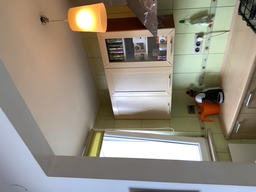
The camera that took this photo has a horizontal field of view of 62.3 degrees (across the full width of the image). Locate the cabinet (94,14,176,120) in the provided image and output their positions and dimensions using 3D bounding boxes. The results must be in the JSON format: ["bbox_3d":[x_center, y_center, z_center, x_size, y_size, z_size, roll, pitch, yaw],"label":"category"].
[{"bbox_3d":[0.120,-0.250,2.410,0.310,0.740,1.200,-82,-11,-48],"label":"cabinet"}]
